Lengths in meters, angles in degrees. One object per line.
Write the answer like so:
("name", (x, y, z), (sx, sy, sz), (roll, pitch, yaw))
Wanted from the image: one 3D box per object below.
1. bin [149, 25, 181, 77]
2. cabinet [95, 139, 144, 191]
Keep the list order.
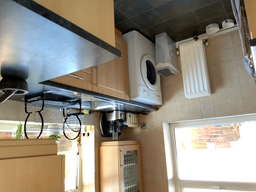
("bin", (0.480, -0.570, 2.760), (0.240, 0.530, 0.370), (-10, 166, 31))
("cabinet", (-0.090, 1.010, 2.710), (0.320, 0.880, 0.590), (-10, 166, 32))
